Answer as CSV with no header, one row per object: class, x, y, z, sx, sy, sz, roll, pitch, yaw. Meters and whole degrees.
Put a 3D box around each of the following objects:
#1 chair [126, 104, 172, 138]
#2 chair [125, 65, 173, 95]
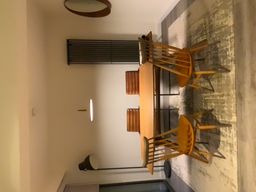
chair,0.390,0.460,4.110,0.560,0.780,0.550,-156,65,-81
chair,0.380,-0.290,4.060,0.560,0.790,0.530,179,90,-82
